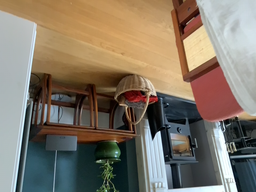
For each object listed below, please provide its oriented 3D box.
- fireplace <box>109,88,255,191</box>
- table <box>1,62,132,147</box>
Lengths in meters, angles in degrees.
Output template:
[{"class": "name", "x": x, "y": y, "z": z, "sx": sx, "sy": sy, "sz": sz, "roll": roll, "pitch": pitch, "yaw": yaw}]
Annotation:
[{"class": "fireplace", "x": 0.740, "y": 0.840, "z": 2.810, "sx": 1.710, "sy": 1.350, "sz": 0.880, "roll": 12, "pitch": 152, "yaw": -32}, {"class": "table", "x": -0.570, "y": 0.160, "z": 2.070, "sx": 1.030, "sy": 0.510, "sz": 0.600, "roll": 12, "pitch": 152, "yaw": -32}]
